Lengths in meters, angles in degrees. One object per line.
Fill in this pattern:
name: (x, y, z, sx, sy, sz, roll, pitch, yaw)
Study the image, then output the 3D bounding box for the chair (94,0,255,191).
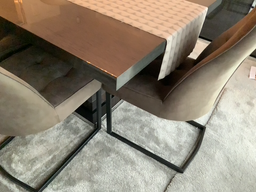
chair: (0.230, -0.100, 1.070, 0.590, 0.950, 0.500, 32, 50, 24)

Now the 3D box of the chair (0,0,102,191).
chair: (-0.500, -0.050, 0.930, 0.500, 0.950, 0.570, 31, 49, 23)
